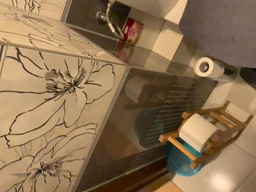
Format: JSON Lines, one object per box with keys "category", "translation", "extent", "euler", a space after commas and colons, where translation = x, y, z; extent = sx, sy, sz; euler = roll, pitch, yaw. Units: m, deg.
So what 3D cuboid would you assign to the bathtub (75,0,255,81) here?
{"category": "bathtub", "translation": [0.360, -0.360, 0.840], "extent": [0.670, 0.790, 0.410], "euler": [35, 111, 33]}
